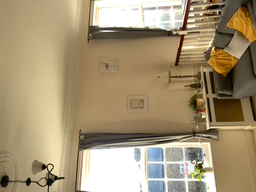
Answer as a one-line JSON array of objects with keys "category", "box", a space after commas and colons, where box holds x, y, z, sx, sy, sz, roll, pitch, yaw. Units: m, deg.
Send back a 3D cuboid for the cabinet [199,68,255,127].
[{"category": "cabinet", "box": [1.830, 0.030, 3.980, 0.290, 0.800, 1.070, 72, -162, -71]}]
